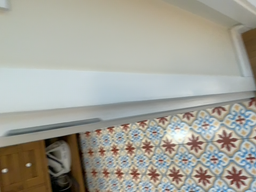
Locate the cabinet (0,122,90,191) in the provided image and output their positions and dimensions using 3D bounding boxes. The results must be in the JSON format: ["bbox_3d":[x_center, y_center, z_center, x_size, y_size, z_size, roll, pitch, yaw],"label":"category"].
[{"bbox_3d":[-0.900,0.770,2.150,0.470,0.800,0.860,-17,80,46],"label":"cabinet"}]
